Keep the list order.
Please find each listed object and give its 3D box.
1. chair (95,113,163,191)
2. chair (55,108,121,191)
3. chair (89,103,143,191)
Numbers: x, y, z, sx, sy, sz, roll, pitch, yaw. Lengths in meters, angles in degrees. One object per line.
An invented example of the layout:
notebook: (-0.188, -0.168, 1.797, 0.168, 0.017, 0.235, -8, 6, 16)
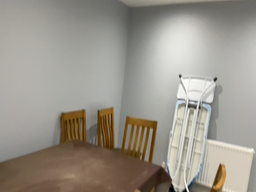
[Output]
chair: (0.020, 0.750, 2.290, 0.440, 1.000, 0.600, 9, 8, 25)
chair: (-0.460, 0.690, 2.430, 0.510, 1.000, 0.440, 10, 8, 30)
chair: (-0.170, 0.650, 2.920, 0.490, 1.000, 0.440, 10, 8, 30)
